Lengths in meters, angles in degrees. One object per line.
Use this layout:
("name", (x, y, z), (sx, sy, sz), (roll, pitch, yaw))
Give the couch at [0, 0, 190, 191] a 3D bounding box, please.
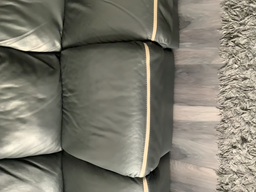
("couch", (-0.360, 0.030, 1.120), (1.030, 0.960, 2.410), (5, 97, 34))
